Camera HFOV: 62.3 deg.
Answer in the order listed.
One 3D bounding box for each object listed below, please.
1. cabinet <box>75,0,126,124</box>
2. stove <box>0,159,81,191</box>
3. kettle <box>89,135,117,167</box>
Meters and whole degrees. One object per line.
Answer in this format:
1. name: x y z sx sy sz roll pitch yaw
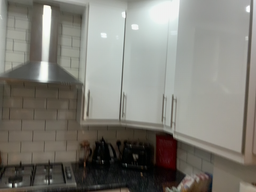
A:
1. cabinet: -0.270 -0.320 1.980 0.340 1.120 0.310 4 1 -21
2. stove: -0.730 0.640 1.710 0.610 0.050 0.560 4 1 -21
3. kettle: -0.250 0.540 2.110 0.240 0.280 0.140 4 1 -20
